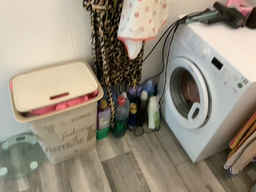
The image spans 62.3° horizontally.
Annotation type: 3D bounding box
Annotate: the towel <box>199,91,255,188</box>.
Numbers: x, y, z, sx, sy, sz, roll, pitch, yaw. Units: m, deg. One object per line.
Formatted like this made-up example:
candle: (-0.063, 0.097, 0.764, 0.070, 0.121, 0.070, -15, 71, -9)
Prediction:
towel: (0.830, 0.240, 1.320, 0.440, 0.890, 0.210, -15, 53, -19)

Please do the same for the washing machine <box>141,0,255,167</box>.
washing machine: (0.580, -0.090, 1.490, 0.630, 0.840, 0.680, -16, 53, -19)

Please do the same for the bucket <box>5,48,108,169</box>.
bucket: (-0.400, 0.100, 1.340, 0.450, 0.650, 0.320, -17, 53, -20)
